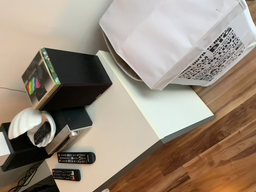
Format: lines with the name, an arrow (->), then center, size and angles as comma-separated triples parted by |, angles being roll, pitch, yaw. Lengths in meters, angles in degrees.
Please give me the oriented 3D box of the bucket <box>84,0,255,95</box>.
bucket -> 0.270, -0.300, 0.890 | 0.450, 0.670, 0.370 | -45, 68, 28
